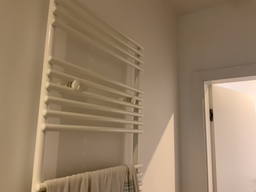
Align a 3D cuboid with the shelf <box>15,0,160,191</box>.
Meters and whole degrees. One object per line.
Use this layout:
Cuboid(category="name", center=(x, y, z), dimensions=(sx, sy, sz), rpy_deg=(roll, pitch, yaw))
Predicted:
Cuboid(category="shelf", center=(-0.080, 0.260, 0.880), dimensions=(0.170, 1.310, 0.690), rpy_deg=(-4, -11, 31))
